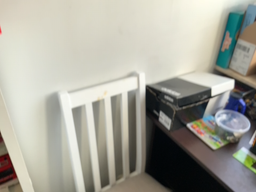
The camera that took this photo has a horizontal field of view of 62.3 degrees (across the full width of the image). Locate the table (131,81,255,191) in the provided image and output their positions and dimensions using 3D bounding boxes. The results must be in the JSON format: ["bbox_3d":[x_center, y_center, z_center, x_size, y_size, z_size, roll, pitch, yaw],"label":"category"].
[{"bbox_3d":[0.480,0.490,1.040,0.520,0.740,0.820,-18,39,-29],"label":"table"}]
